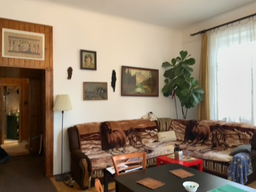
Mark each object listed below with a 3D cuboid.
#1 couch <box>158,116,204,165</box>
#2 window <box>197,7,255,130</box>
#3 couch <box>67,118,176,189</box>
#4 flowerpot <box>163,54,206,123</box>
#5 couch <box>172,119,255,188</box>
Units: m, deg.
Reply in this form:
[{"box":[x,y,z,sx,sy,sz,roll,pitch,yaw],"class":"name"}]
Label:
[{"box":[1.320,1.030,5.280,0.980,0.950,1.130,0,0,15],"class":"couch"},{"box":[2.400,-0.530,4.420,0.250,2.390,2.150,0,0,-33],"class":"window"},{"box":[-0.080,1.030,4.400,2.090,0.960,0.910,0,0,-33],"class":"couch"},{"box":[1.370,-0.160,5.270,0.620,1.540,0.890,0,0,-23],"class":"flowerpot"},{"box":[1.790,1.040,4.340,0.960,0.930,1.480,0,0,-33],"class":"couch"}]
